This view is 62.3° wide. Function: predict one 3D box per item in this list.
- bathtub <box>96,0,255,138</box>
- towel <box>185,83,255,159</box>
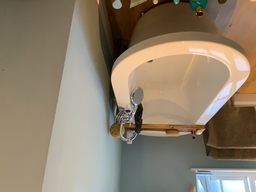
[{"bbox_3d":[0.300,-0.150,1.910,0.820,0.640,1.880,0,156,2],"label":"bathtub"},{"bbox_3d":[1.130,0.290,2.520,0.740,0.830,0.330,0,156,2],"label":"towel"}]
